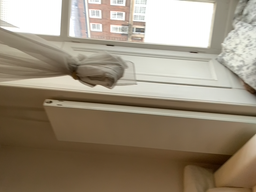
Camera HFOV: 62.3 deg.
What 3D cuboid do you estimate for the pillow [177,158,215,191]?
[{"bbox_3d":[0.740,0.990,2.310,0.190,0.310,0.550,95,179,-49],"label":"pillow"}]
